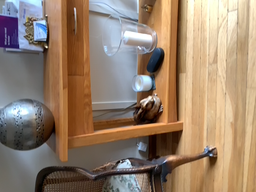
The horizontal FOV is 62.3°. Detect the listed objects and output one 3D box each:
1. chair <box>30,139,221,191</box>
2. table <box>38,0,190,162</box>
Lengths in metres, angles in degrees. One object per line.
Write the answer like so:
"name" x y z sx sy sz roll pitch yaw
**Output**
"chair" -0.020 0.580 1.110 0.600 0.800 0.560 -12 81 56
"table" -0.070 -0.350 1.200 0.400 0.750 1.200 6 97 57
